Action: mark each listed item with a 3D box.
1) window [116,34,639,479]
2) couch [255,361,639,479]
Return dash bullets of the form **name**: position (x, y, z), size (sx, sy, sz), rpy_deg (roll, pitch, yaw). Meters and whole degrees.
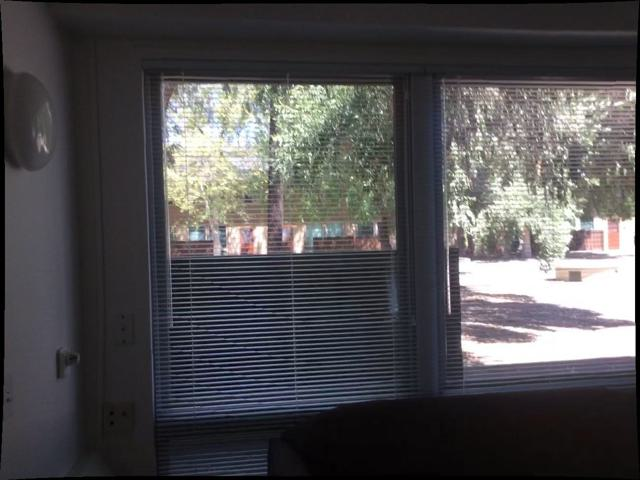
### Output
- **window**: position (0.429, 0.160, 2.590), size (2.376, 1.993, 0.470), rpy_deg (-3, 5, -7)
- **couch**: position (0.689, 1.022, 2.140), size (1.797, 0.771, 0.930), rpy_deg (-3, 5, -7)
